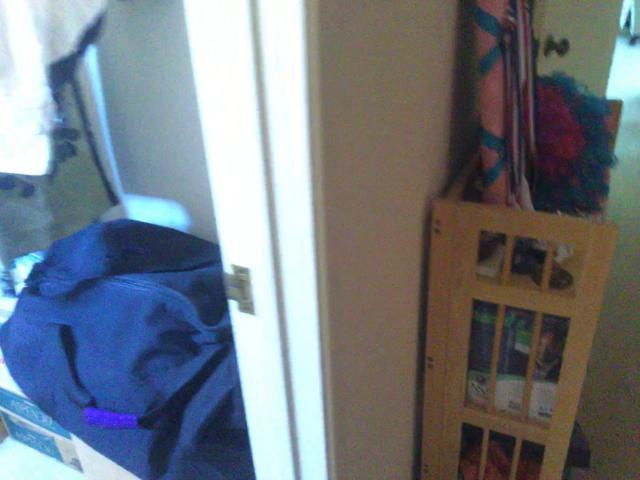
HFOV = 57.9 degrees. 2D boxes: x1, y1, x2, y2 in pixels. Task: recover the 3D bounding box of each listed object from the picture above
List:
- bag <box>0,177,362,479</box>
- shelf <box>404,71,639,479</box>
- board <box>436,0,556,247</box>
[{"bbox_3d":[-0.320,0.170,1.160,0.660,0.350,0.520,7,34,21],"label":"bag"},{"bbox_3d":[0.480,0.120,1.390,0.350,0.820,0.780,7,34,21],"label":"shelf"},{"bbox_3d":[0.330,-0.320,1.060,0.160,0.560,0.330,7,34,21],"label":"board"}]
